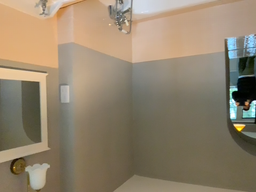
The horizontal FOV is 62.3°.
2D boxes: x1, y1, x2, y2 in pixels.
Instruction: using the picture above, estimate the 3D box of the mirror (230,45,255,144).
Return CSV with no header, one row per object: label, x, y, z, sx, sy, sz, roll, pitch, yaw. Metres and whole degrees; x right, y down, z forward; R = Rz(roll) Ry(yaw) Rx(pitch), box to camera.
mirror,1.620,-0.020,2.530,0.680,1.170,0.140,-2,179,27
